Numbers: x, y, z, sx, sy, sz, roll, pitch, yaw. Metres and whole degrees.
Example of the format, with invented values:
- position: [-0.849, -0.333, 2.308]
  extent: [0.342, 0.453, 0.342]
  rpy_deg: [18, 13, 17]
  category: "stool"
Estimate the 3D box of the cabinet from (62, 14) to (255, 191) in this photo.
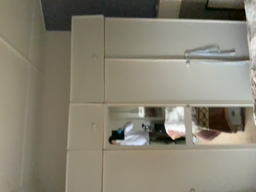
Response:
- position: [0.440, 0.310, 2.440]
  extent: [0.610, 2.180, 2.270]
  rpy_deg: [121, 149, -81]
  category: "cabinet"
